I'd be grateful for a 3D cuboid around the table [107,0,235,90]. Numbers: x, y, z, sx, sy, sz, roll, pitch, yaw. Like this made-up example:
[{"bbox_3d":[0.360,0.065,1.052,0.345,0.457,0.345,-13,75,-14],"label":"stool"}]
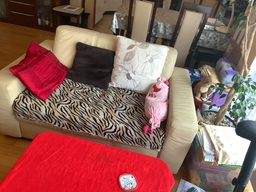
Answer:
[{"bbox_3d":[0.560,-0.800,3.160,1.520,0.760,0.870,12,35,2],"label":"table"}]
